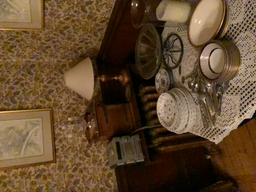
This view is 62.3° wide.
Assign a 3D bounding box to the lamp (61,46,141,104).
[{"bbox_3d":[-0.250,-0.180,1.840,0.300,0.590,0.370,126,134,-58],"label":"lamp"}]
